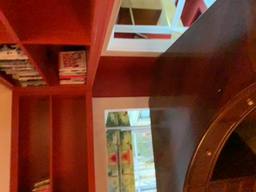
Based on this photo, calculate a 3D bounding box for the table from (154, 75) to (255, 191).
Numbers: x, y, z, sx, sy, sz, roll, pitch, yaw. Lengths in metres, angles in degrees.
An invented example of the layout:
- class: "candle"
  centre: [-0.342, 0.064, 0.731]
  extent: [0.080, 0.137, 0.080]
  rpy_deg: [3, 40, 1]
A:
- class: "table"
  centre: [0.760, 0.280, 1.910]
  extent: [0.820, 0.730, 0.620]
  rpy_deg: [-112, 24, -55]
